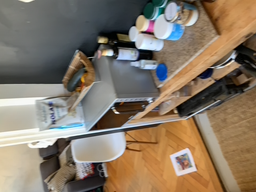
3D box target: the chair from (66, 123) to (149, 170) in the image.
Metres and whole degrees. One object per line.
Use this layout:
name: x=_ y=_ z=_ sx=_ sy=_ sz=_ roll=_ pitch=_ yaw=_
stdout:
chair: x=-0.250 y=0.580 z=2.530 sx=0.510 sy=0.810 sz=0.360 roll=-22 pitch=74 yaw=56

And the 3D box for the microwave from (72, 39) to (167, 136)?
microwave: x=-0.090 y=-0.020 z=1.270 sx=0.530 sy=0.290 sz=0.340 roll=-43 pitch=58 yaw=50
